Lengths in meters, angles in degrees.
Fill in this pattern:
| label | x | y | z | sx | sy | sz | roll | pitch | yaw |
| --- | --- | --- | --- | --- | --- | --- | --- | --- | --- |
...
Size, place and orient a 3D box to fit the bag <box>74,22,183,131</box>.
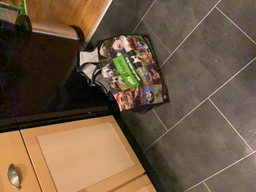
| label | x | y | z | sx | sy | sz | roll | pitch | yaw |
| --- | --- | --- | --- | --- | --- | --- | --- | --- | --- |
| bag | 0.000 | -0.090 | 1.160 | 0.310 | 0.370 | 0.430 | -31 | 73 | 38 |
